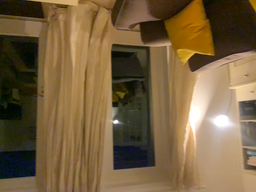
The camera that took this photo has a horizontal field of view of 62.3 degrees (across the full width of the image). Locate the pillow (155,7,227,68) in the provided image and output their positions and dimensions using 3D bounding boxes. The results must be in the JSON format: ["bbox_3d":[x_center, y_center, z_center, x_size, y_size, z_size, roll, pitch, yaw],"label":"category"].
[{"bbox_3d":[0.490,-0.500,1.780,0.250,0.420,0.480,-3,-158,-25],"label":"pillow"}]
